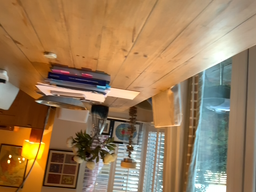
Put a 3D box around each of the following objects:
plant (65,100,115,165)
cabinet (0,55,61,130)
[{"bbox_3d":[-0.380,0.370,2.190,0.410,0.600,0.170,8,171,-6],"label":"plant"},{"bbox_3d":[-1.880,-0.040,3.840,1.050,1.170,0.470,8,171,-9],"label":"cabinet"}]
